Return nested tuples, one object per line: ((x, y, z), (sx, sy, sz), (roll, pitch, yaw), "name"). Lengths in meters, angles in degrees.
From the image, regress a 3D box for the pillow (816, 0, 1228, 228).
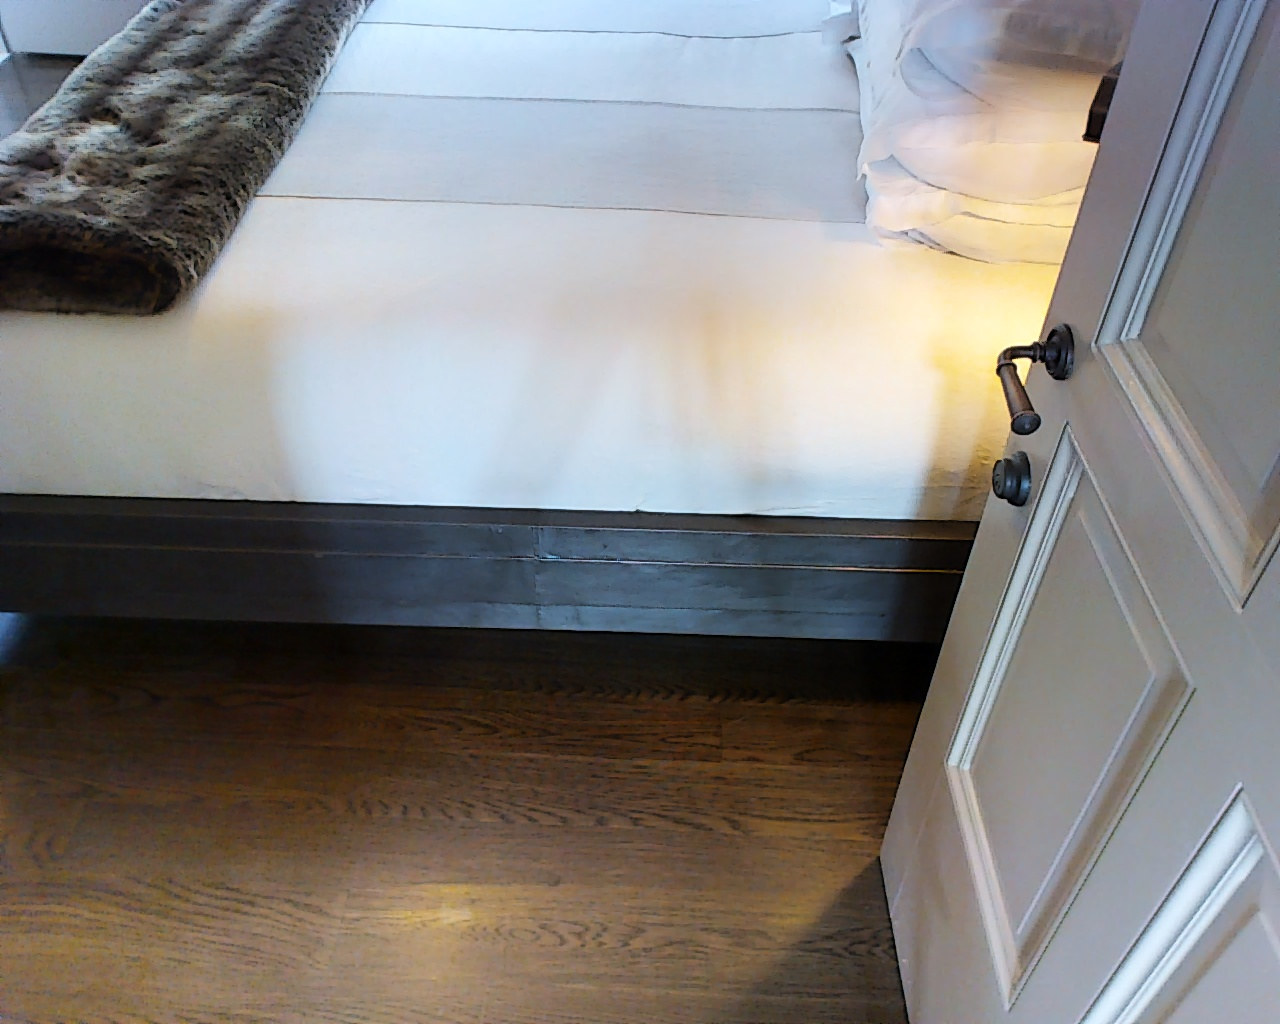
((0.540, -0.710, 1.710), (0.450, 0.100, 0.850), (3, 42, 2), "pillow")

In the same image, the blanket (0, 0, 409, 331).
((-0.800, -0.940, 2.140), (0.460, 0.140, 1.860), (2, 42, 1), "blanket")
